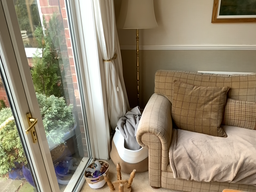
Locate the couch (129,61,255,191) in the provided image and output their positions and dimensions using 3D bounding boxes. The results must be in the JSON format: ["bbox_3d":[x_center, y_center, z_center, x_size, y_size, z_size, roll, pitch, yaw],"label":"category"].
[{"bbox_3d":[1.300,0.290,2.080,2.360,0.890,1.240,3,26,11],"label":"couch"}]

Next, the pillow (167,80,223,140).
[{"bbox_3d":[0.650,0.140,2.090,0.490,0.510,0.220,4,-16,11],"label":"pillow"}]

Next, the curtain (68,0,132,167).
[{"bbox_3d":[-0.220,-0.570,2.050,0.240,2.590,0.710,7,27,18],"label":"curtain"}]
